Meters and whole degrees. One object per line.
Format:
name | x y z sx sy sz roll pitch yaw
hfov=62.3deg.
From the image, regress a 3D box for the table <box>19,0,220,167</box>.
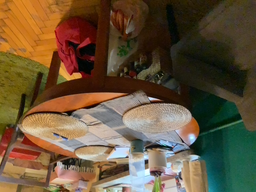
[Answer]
table | -0.100 0.000 1.700 1.010 0.770 1.030 22 142 -32
